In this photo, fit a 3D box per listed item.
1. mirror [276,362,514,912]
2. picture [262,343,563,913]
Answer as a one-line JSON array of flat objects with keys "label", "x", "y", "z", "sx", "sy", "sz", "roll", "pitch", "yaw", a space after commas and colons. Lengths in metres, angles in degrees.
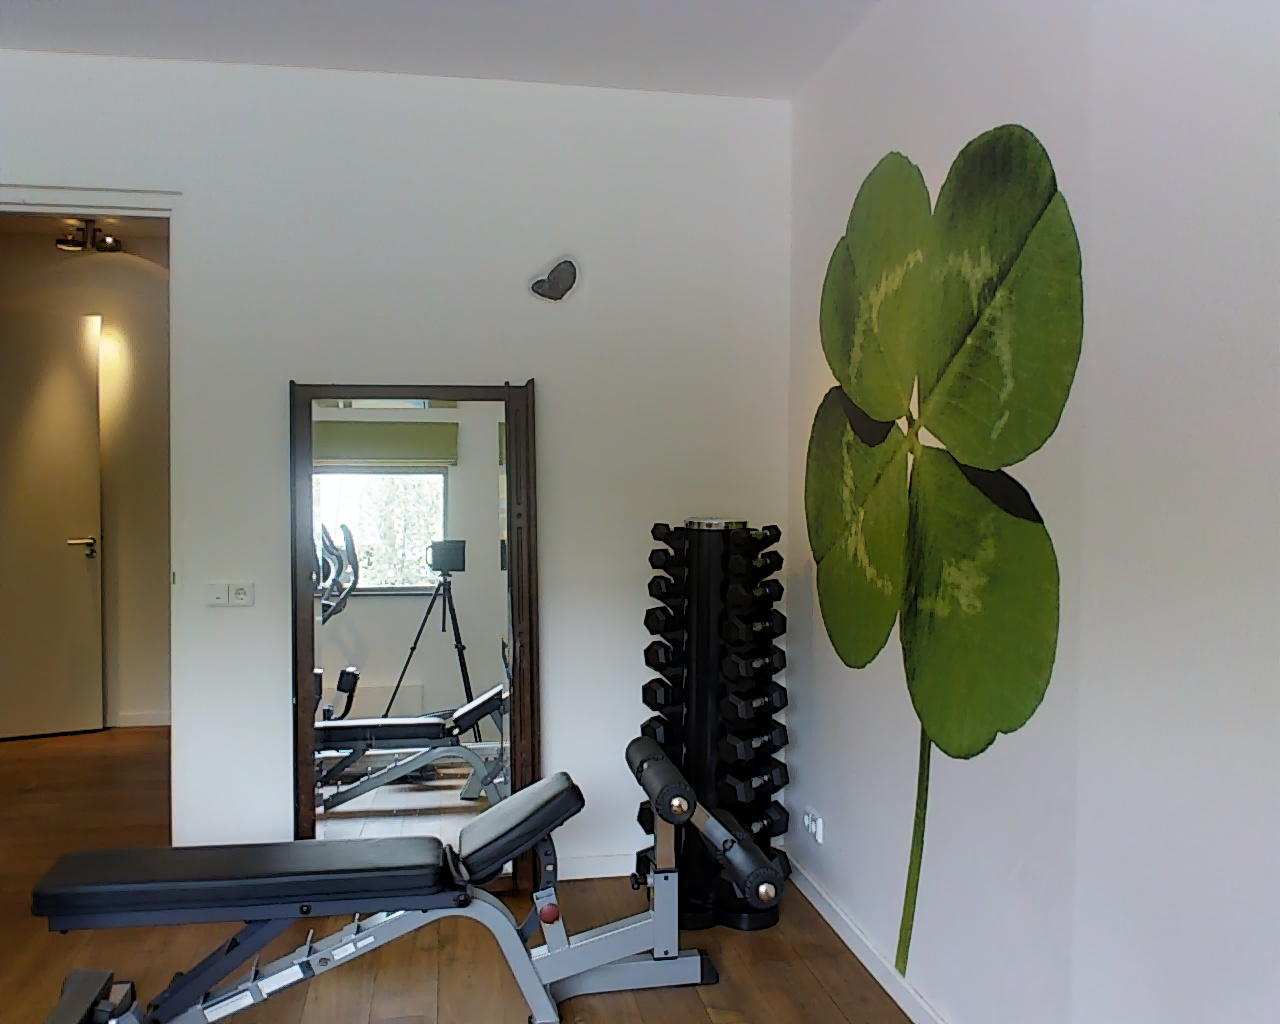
[{"label": "mirror", "x": -0.820, "y": 0.410, "z": 3.650, "sx": 0.760, "sy": 1.790, "sz": 0.200, "roll": 0, "pitch": 2, "yaw": -10}, {"label": "picture", "x": -0.770, "y": 0.380, "z": 3.710, "sx": 0.970, "sy": 1.850, "sz": 0.290, "roll": 0, "pitch": 2, "yaw": -10}]
